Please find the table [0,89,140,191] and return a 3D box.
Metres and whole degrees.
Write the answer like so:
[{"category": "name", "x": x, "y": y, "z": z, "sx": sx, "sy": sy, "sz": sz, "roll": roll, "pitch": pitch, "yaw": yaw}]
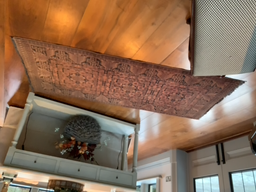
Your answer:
[{"category": "table", "x": -0.620, "y": 0.600, "z": 2.620, "sx": 1.450, "sy": 0.860, "sz": 0.450, "roll": 19, "pitch": 148, "yaw": -22}]
